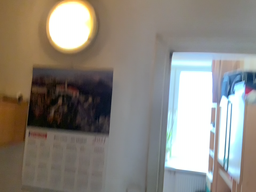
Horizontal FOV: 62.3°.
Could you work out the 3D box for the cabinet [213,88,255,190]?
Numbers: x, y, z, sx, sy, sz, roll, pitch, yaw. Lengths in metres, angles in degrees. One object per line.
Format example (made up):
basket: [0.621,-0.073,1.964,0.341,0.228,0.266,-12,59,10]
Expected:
cabinet: [1.130,0.370,2.140,0.290,0.800,0.910,4,-2,11]
